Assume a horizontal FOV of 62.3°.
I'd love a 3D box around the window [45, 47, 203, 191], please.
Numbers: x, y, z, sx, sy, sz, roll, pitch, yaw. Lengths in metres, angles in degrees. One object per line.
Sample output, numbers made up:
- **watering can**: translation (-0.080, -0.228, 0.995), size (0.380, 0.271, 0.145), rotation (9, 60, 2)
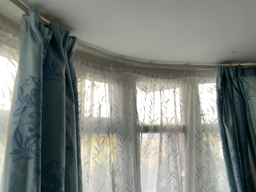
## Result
- **window**: translation (0.070, 0.510, 1.570), size (1.270, 1.510, 0.140), rotation (6, -12, -33)
